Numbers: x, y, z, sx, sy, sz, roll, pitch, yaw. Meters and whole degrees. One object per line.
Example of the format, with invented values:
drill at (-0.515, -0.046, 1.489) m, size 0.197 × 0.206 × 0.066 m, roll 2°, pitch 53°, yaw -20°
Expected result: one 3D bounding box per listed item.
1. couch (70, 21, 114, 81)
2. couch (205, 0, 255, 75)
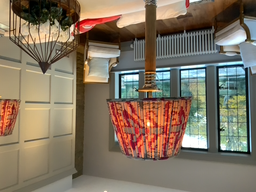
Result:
couch at (-0.720, -0.810, 4.100) m, size 0.700 × 0.930 × 0.740 m, roll 1°, pitch 177°, yaw -21°
couch at (1.700, -0.840, 3.190) m, size 0.720 × 0.930 × 0.770 m, roll 1°, pitch 177°, yaw -10°
